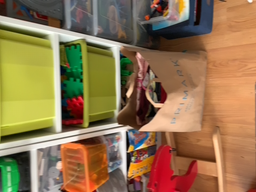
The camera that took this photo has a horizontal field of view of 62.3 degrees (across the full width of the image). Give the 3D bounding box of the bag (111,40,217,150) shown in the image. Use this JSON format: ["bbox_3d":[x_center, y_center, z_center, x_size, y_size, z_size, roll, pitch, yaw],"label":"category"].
[{"bbox_3d":[0.210,-0.010,1.090,0.310,0.530,0.410,1,92,41],"label":"bag"}]

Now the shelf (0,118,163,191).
[{"bbox_3d":[-0.230,0.550,1.000,0.280,1.040,0.770,1,92,41],"label":"shelf"}]
